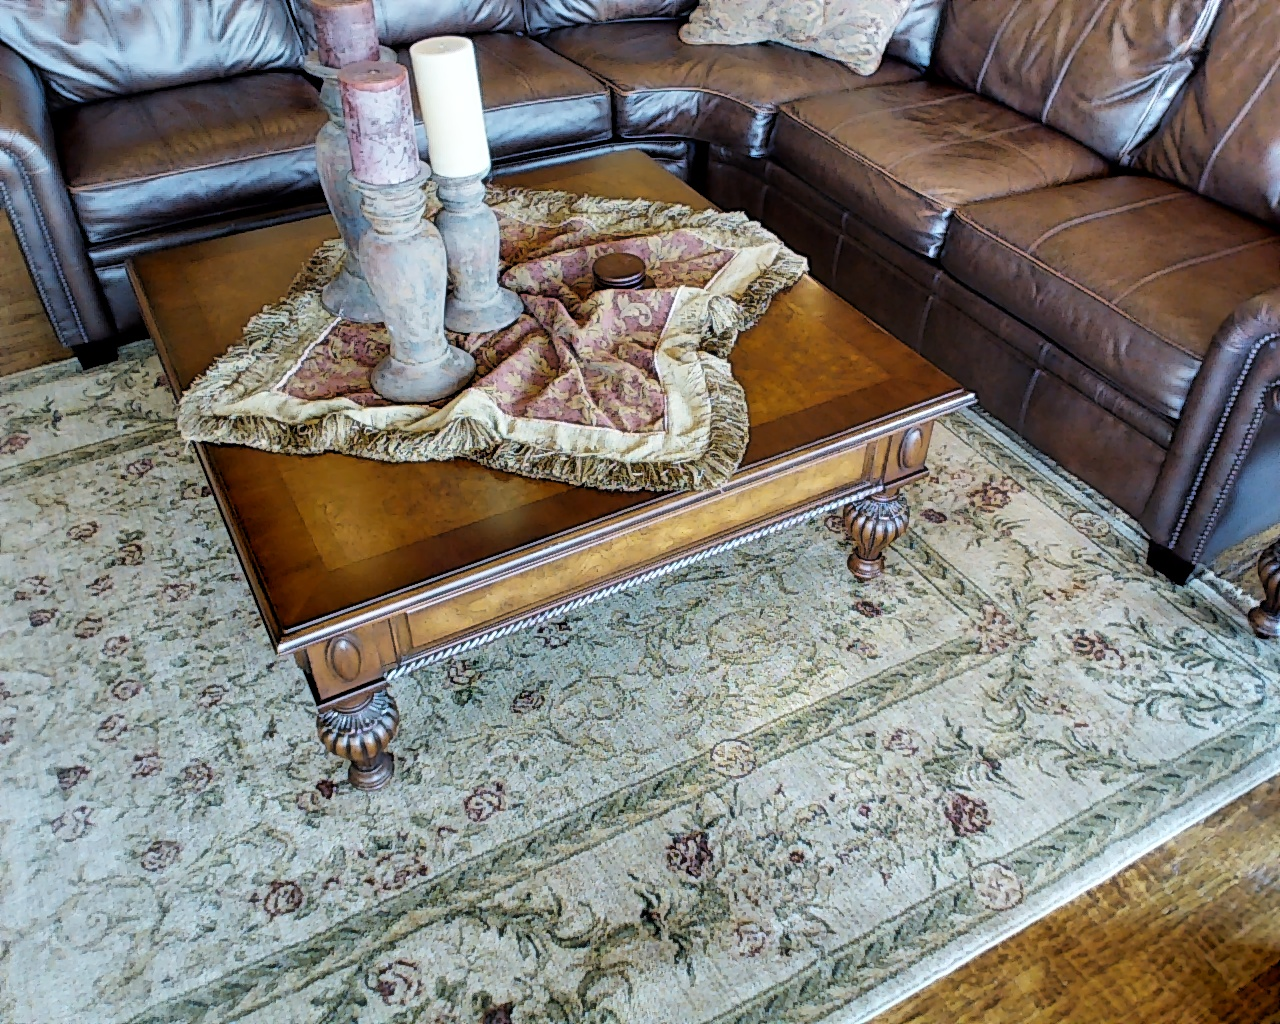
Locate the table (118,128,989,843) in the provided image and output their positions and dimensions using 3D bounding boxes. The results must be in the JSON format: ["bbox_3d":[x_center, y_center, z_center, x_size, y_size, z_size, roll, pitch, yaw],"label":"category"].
[{"bbox_3d":[-0.240,-0.210,2.200,1.240,0.510,1.240,-20,45,-21],"label":"table"}]
